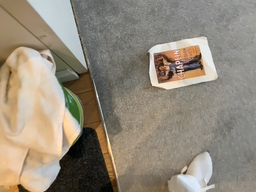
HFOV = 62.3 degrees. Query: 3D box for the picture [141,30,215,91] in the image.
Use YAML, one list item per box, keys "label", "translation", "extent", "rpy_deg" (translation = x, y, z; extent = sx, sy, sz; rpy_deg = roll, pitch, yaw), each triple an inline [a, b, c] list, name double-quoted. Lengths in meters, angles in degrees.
- label: "picture"
  translation: [0.220, -0.160, 0.950]
  extent: [0.290, 0.020, 0.230]
  rpy_deg: [-9, 84, -2]
